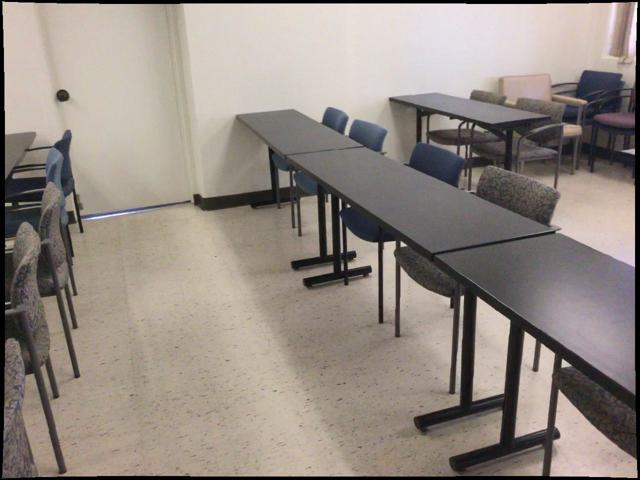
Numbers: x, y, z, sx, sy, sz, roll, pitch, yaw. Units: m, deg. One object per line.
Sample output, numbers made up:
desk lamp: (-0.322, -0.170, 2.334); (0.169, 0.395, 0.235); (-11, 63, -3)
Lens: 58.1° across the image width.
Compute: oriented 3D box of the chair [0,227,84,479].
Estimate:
chair: (-1.187, 0.431, 2.010); (0.539, 0.742, 0.540); (-11, 23, -18)

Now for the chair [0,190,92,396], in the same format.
chair: (-1.356, 0.221, 2.490); (0.559, 0.682, 0.540); (-11, 23, -19)

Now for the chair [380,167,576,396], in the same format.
chair: (0.628, 0.140, 2.430); (0.569, 0.732, 0.500); (-11, 23, -18)

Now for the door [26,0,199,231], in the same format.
door: (-1.496, -1.253, 4.150); (0.918, 2.315, 0.190); (-11, 23, -18)

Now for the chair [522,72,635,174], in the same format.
chair: (2.324, -1.083, 5.240); (0.629, 0.762, 0.600); (-11, 23, -18)
